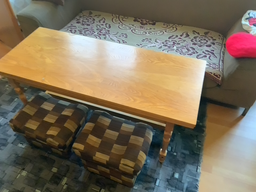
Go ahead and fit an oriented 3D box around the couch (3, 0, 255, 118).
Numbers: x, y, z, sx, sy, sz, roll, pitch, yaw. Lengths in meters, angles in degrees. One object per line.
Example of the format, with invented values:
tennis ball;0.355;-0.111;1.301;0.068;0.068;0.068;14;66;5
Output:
couch;0.170;-0.720;2.150;2.250;0.750;1.100;14;48;13
